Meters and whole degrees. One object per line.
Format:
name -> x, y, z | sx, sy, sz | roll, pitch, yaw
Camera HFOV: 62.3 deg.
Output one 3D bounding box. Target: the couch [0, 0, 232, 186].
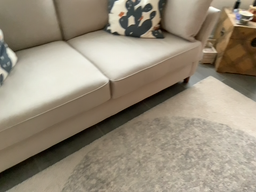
couch -> -0.430, -0.380, 1.530 | 2.050, 0.900, 1.060 | -24, 50, -28
